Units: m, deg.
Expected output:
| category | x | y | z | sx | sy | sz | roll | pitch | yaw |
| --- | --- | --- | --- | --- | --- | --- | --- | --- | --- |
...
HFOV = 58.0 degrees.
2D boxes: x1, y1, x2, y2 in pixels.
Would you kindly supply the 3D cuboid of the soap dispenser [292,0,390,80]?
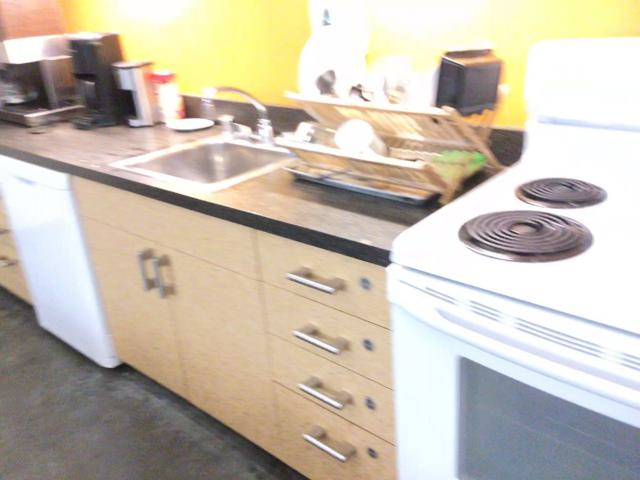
| category | x | y | z | sx | sy | sz | roll | pitch | yaw |
| --- | --- | --- | --- | --- | --- | --- | --- | --- | --- |
| soap dispenser | 0.060 | -0.640 | 1.660 | 0.220 | 0.330 | 0.170 | 17 | 27 | 41 |
